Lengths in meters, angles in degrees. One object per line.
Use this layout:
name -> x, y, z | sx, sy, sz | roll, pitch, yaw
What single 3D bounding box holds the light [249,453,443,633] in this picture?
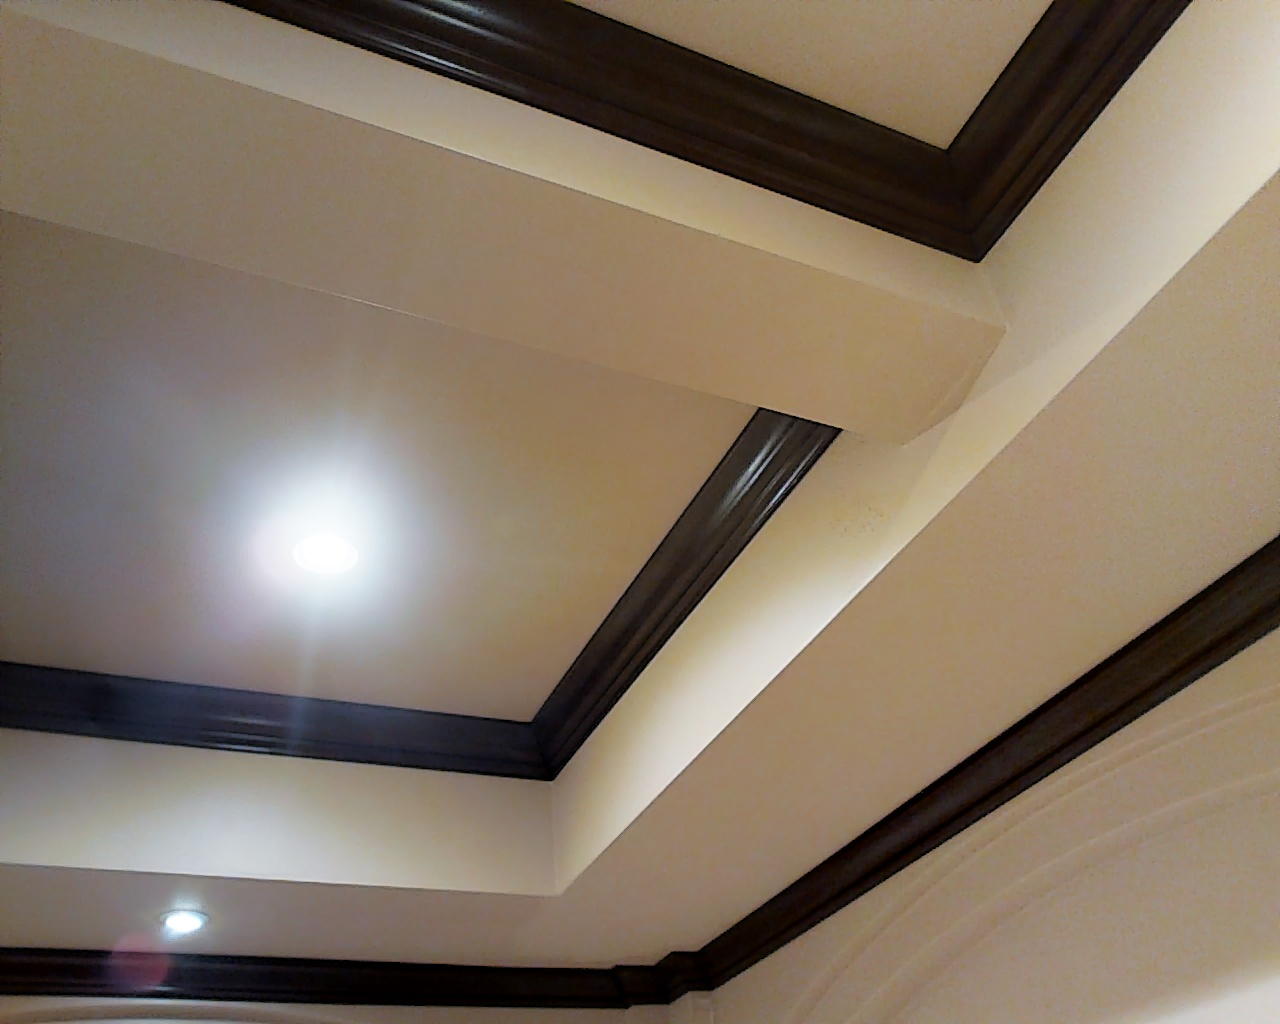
light -> -0.450, 0.060, 1.610 | 0.210, 0.010, 0.360 | 12, -46, -22
